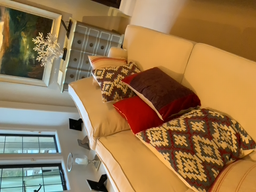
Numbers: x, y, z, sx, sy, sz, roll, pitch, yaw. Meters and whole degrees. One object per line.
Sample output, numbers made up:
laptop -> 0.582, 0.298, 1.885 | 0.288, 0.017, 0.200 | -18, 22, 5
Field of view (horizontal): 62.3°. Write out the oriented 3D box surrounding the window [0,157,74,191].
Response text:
window -> -1.480, 1.020, 2.620 | 0.590, 1.500, 0.080 | 47, 124, 53
